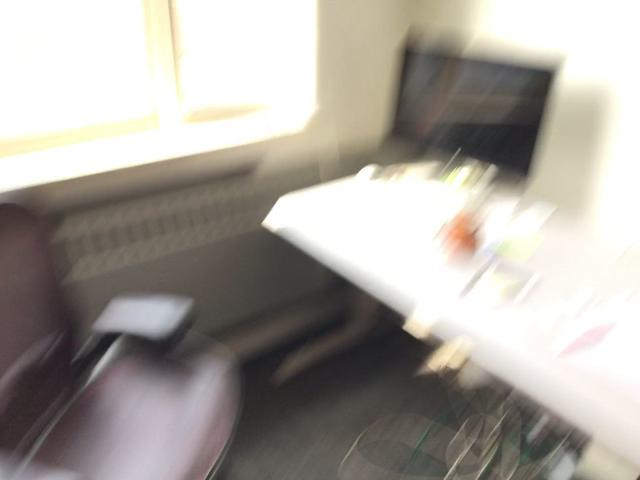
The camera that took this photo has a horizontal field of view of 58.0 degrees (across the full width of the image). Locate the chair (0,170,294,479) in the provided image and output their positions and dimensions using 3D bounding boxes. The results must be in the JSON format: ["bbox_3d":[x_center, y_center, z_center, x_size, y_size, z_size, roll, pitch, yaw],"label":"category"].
[{"bbox_3d":[-0.490,0.400,1.370,0.650,0.980,0.610,3,24,13],"label":"chair"}]

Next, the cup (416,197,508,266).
[{"bbox_3d":[0.410,-0.030,1.680,0.190,0.110,0.180,19,32,41],"label":"cup"}]

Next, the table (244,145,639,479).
[{"bbox_3d":[0.530,0.360,1.690,0.750,0.890,1.560,-18,28,-31],"label":"table"}]
